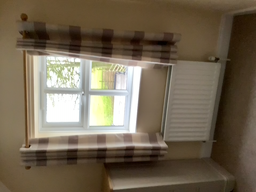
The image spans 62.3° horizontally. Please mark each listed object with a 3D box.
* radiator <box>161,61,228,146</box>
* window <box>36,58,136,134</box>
[{"bbox_3d":[0.670,0.090,2.170,0.090,0.590,0.850,-137,50,-72],"label":"radiator"},{"bbox_3d":[-0.440,0.020,2.310,0.090,1.010,0.790,-132,45,-70],"label":"window"}]
